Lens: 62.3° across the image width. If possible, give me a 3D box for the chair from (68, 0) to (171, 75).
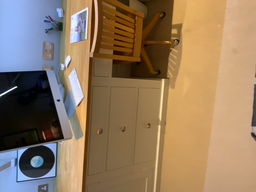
[{"bbox_3d":[-0.070,-0.490,1.860,0.490,0.750,0.540,2,92,53],"label":"chair"}]
